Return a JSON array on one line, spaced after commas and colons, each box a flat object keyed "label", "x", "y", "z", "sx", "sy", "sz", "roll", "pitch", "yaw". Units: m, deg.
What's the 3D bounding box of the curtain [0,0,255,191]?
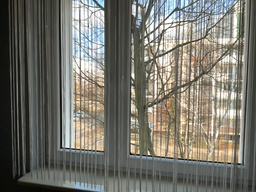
[{"label": "curtain", "x": 0.020, "y": -0.260, "z": 1.140, "sx": 1.620, "sy": 1.870, "sz": 0.140, "roll": 2, "pitch": 5, "yaw": 12}]
